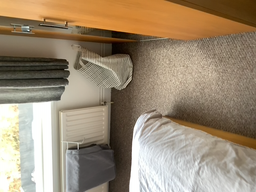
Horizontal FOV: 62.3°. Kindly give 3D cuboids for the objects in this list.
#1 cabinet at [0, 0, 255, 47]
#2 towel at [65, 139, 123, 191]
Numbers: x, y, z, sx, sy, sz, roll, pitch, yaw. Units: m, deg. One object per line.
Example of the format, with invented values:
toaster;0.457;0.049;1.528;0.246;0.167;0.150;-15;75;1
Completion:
cabinet;-0.440;-0.500;1.120;1.520;2.020;0.280;14;104;49
towel;-0.350;0.730;2.220;0.190;0.570;0.420;13;104;49
